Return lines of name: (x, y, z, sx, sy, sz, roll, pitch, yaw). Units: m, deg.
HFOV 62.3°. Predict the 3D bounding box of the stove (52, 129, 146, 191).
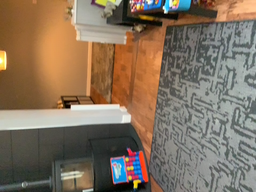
stove: (-0.410, 0.910, 2.730, 0.590, 1.060, 0.710, -143, 56, -63)
